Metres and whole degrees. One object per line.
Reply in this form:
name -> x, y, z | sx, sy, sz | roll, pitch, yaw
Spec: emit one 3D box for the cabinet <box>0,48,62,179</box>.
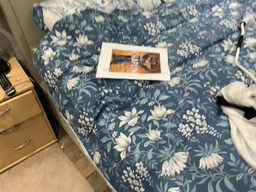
cabinet -> -0.790, 0.110, 1.370 | 0.430, 0.560, 0.470 | -28, 52, -23
